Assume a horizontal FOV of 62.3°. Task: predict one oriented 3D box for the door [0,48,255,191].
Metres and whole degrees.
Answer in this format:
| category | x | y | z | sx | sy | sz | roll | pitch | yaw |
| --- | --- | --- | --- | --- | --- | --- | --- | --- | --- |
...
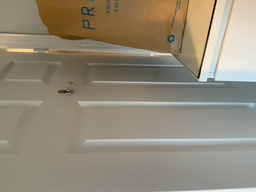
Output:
| category | x | y | z | sx | sy | sz | roll | pitch | yaw |
| --- | --- | --- | --- | --- | --- | --- | --- | --- | --- |
| door | 0.360 | 0.020 | 0.800 | 0.800 | 2.050 | 0.050 | -100 | 13 | -58 |
